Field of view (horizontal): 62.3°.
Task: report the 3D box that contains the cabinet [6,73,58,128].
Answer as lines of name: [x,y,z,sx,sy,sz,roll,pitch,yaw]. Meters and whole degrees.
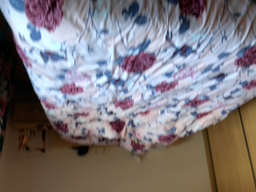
cabinet: [-1.160,0.080,2.660,0.480,0.570,0.400,3,159,-13]
